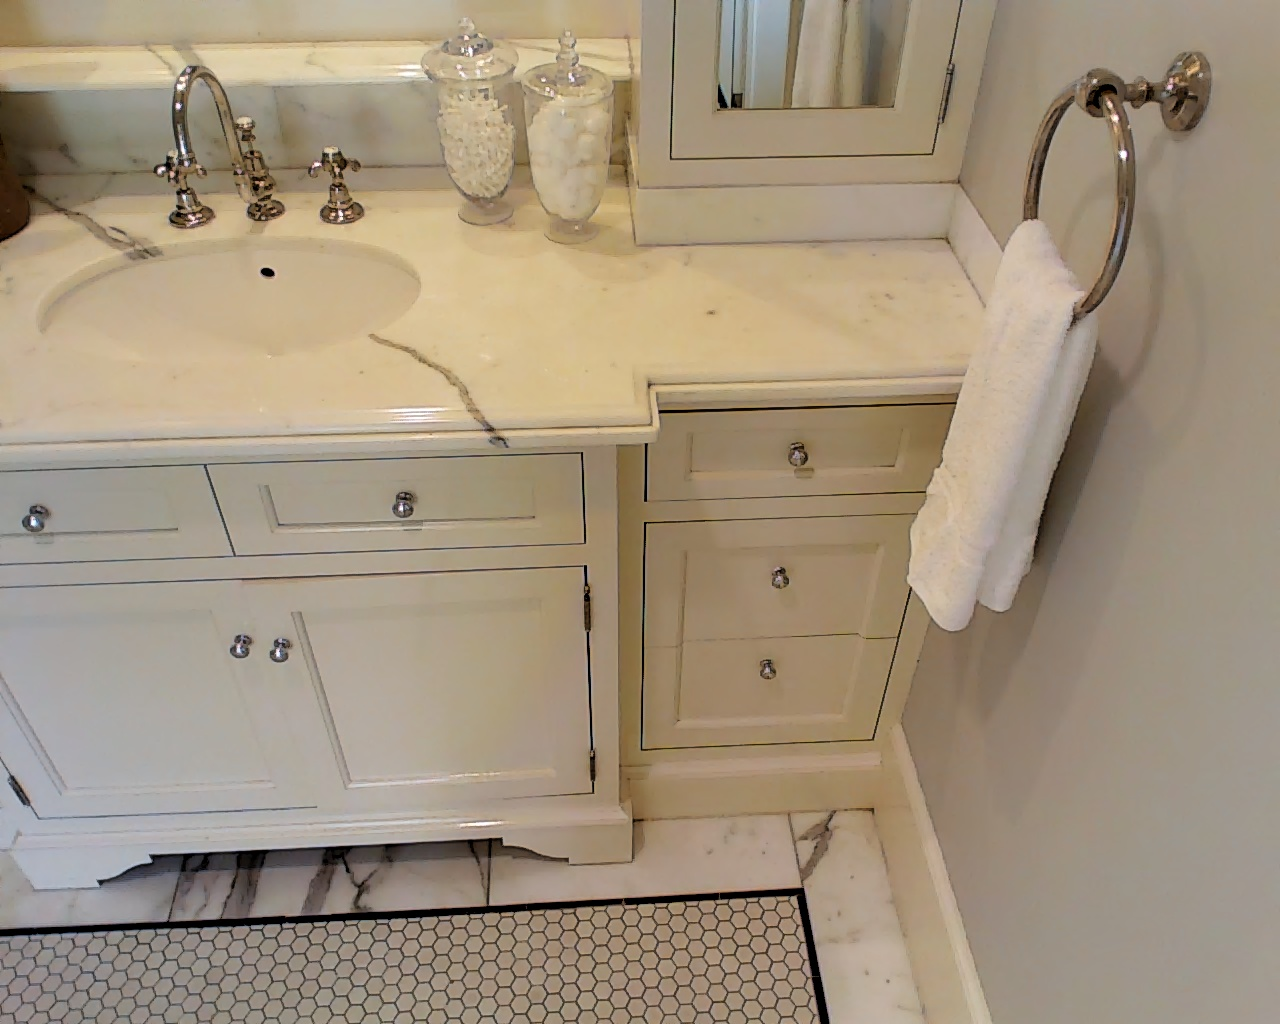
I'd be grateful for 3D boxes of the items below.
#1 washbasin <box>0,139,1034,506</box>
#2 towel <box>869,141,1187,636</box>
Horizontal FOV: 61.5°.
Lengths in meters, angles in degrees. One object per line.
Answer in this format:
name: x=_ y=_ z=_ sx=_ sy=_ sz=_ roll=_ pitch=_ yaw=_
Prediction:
washbasin: x=-0.500 y=-0.270 z=1.370 sx=1.800 sy=0.120 sz=0.630 roll=-2 pitch=42 yaw=-3
towel: x=0.360 y=-0.110 z=1.090 sx=0.140 sy=0.450 sz=0.220 roll=-2 pitch=42 yaw=-3
